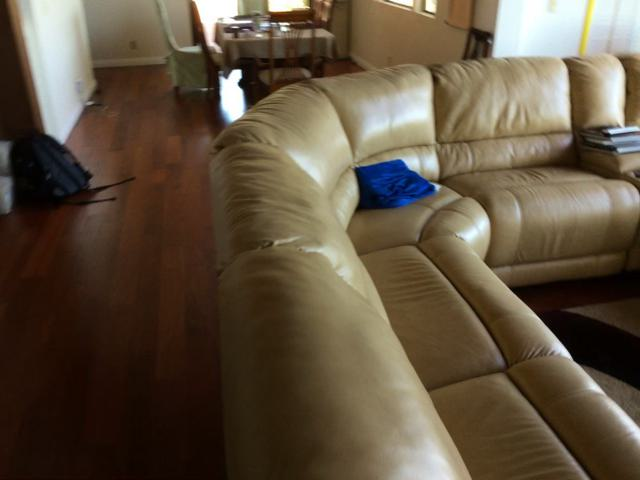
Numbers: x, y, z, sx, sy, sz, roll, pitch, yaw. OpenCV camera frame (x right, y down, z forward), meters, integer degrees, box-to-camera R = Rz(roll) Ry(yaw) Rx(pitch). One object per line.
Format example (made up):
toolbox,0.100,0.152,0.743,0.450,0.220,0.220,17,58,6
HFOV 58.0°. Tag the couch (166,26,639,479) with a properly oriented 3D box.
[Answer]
couch,1.250,0.010,2.200,3.370,1.060,3.020,-8,29,-12
